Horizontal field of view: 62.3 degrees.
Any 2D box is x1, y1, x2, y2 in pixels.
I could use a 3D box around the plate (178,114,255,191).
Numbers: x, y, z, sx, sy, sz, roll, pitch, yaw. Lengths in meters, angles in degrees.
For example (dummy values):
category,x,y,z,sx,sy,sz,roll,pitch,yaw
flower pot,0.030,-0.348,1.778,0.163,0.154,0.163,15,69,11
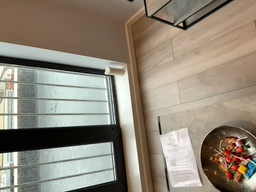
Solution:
category,x,y,z,sx,sy,sz,roll,pitch,yaw
plate,0.430,0.310,0.960,0.370,0.040,0.310,-49,51,39
